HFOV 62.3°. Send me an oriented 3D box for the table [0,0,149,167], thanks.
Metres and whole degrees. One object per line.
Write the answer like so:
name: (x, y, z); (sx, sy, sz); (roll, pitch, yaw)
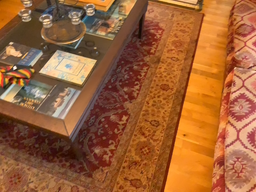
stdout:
table: (-0.450, -0.330, 1.590); (0.830, 0.460, 1.370); (17, 54, 9)
